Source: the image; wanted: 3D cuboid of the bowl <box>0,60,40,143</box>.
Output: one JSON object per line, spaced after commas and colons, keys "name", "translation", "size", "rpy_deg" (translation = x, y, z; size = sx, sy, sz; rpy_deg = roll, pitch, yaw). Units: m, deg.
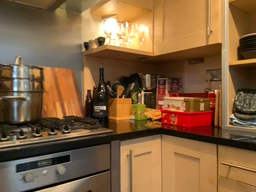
{"name": "bowl", "translation": [-0.510, 0.020, 0.960], "size": [0.170, 0.340, 0.130], "rpy_deg": [-1, 1, -38]}
